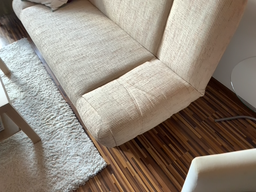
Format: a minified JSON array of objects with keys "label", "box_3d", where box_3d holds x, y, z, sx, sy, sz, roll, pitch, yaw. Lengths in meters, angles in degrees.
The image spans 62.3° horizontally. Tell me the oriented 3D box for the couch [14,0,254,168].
[{"label":"couch","box_3d":[-0.250,-0.600,1.620,0.870,0.910,1.820,-29,55,-17]}]
